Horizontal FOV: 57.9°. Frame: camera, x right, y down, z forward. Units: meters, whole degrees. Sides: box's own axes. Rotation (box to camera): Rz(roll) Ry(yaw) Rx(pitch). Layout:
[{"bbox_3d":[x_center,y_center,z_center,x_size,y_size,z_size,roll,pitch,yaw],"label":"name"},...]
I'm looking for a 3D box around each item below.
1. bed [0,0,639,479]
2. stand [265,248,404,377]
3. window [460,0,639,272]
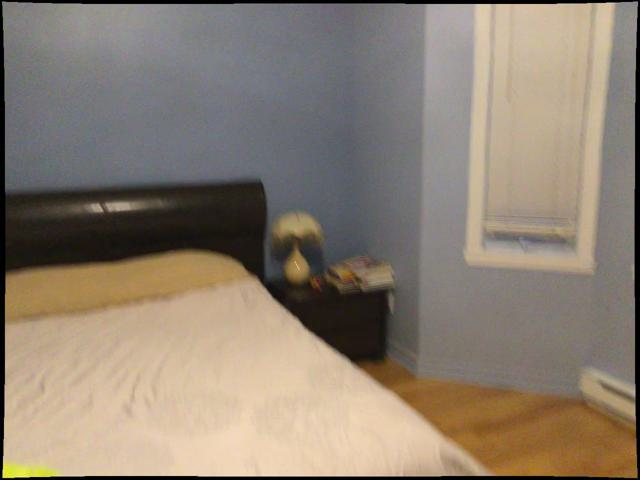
[{"bbox_3d":[-0.549,0.410,2.240,2.308,2.312,2.420,-8,15,-21],"label":"bed"},{"bbox_3d":[0.080,0.390,3.360,0.639,0.500,0.510,-8,15,-22],"label":"stand"},{"bbox_3d":[1.029,-0.741,2.650,0.510,1.632,0.520,-8,15,-22],"label":"window"}]
